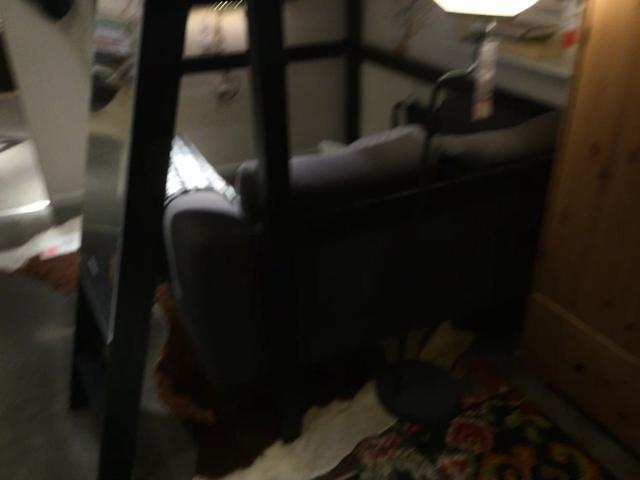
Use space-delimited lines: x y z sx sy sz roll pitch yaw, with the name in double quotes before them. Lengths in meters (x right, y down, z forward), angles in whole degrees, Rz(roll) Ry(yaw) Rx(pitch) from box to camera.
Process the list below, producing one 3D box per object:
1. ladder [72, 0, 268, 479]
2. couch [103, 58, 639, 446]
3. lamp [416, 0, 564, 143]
"ladder" -0.380 -0.360 1.330 0.320 2.100 0.520 -3 29 -25
"couch" 0.220 -0.140 2.110 1.710 0.700 1.020 -12 31 -21
"lamp" 0.440 -0.540 1.510 0.250 0.490 0.230 -12 31 -21
